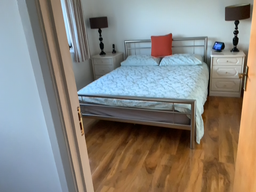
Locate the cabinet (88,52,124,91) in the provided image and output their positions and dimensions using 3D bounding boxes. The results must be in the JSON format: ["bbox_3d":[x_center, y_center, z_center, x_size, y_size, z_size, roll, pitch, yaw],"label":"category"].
[{"bbox_3d":[-0.440,-0.530,4.480,0.500,0.690,0.500,4,22,24],"label":"cabinet"}]

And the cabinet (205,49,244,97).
[{"bbox_3d":[1.640,-0.410,3.660,0.520,0.700,0.530,3,22,21],"label":"cabinet"}]
